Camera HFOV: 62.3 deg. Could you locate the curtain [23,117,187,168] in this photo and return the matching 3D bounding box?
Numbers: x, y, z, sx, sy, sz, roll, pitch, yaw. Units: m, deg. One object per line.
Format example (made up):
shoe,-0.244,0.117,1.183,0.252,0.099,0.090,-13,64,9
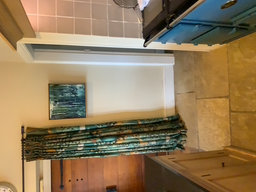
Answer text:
curtain,-0.210,0.550,2.730,0.250,2.020,0.440,172,97,-73
